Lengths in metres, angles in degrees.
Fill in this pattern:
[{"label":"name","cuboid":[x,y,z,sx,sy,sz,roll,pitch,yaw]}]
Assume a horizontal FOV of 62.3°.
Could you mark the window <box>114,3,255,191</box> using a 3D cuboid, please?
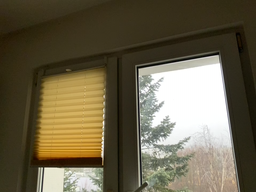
[{"label":"window","cuboid":[0.240,0.390,0.870,0.560,1.510,0.200,-6,-16,19]}]
